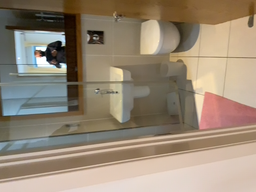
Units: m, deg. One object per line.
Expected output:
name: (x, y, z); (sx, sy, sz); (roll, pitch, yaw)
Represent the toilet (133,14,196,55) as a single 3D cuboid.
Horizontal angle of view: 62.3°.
toilet: (0.390, -0.680, 2.460); (0.550, 0.490, 0.380); (-152, 61, -66)
